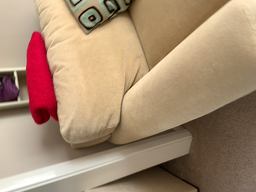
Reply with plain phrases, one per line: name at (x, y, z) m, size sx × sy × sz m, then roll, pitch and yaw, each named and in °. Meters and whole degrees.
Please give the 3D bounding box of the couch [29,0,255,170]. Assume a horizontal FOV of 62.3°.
couch at (0.110, -0.440, 0.990) m, size 0.940 × 0.860 × 1.190 m, roll -42°, pitch 62°, yaw 53°
